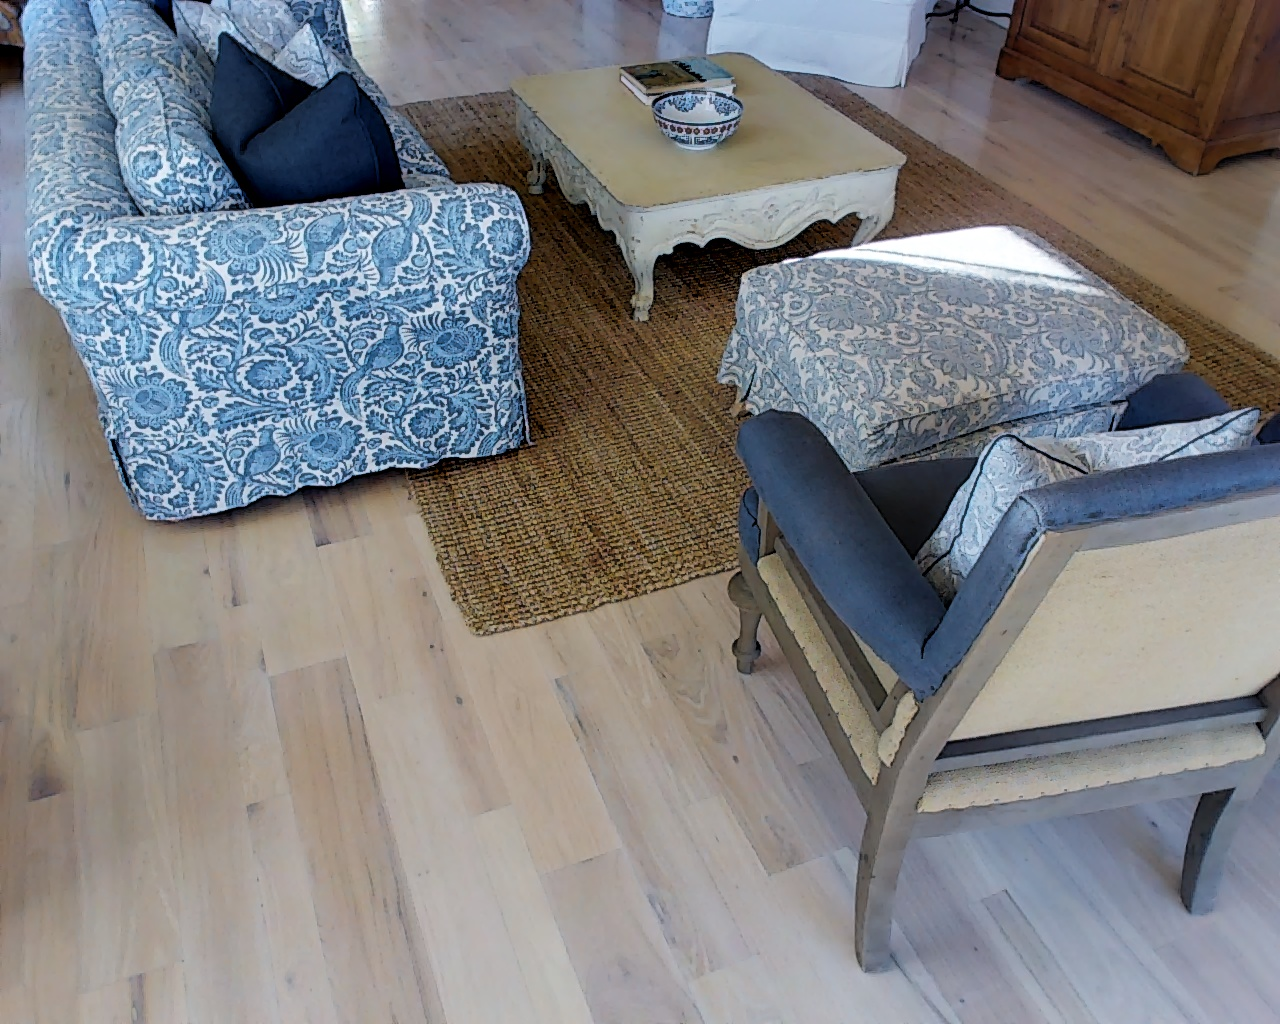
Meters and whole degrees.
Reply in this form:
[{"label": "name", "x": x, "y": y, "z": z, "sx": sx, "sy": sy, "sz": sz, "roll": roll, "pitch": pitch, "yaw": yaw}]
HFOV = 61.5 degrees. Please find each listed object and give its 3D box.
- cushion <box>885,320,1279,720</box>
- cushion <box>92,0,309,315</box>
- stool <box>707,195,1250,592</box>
[{"label": "cushion", "x": 0.620, "y": 0.010, "z": 1.510, "sx": 0.400, "sy": 0.420, "sz": 0.320, "roll": -5, "pitch": 40, "yaw": -7}, {"label": "cushion", "x": -1.080, "y": -0.930, "z": 2.590, "sx": 0.320, "sy": 0.390, "sz": 1.080, "roll": -14, "pitch": 42, "yaw": -17}, {"label": "stool", "x": 0.740, "y": -0.330, "z": 2.570, "sx": 0.910, "sy": 0.450, "sz": 0.740, "roll": -14, "pitch": 42, "yaw": -17}]
